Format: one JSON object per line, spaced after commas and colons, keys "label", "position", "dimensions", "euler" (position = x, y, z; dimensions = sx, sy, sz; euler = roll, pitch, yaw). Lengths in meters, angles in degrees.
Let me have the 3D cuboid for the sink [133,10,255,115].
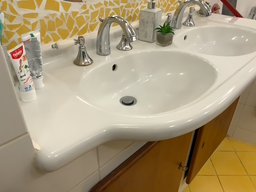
{"label": "sink", "position": [0.440, -0.240, 1.060], "dimensions": [0.520, 0.200, 0.650], "euler": [29, 42, 35]}
